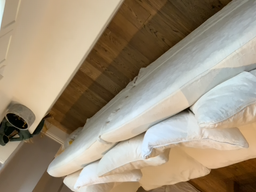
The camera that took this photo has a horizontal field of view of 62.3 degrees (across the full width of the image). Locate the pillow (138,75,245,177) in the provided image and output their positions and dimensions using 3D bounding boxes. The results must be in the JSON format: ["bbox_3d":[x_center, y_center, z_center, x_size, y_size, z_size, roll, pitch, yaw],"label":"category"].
[{"bbox_3d":[0.360,0.170,1.210,0.210,0.430,0.460,47,133,4],"label":"pillow"}]

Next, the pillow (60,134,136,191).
[{"bbox_3d":[-0.280,0.660,1.940,0.280,0.430,0.520,53,133,5],"label":"pillow"}]

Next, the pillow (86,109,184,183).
[{"bbox_3d":[0.050,0.340,1.470,0.430,0.510,0.210,-40,74,44],"label":"pillow"}]
